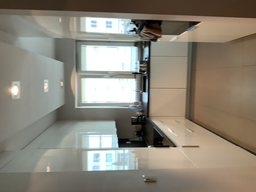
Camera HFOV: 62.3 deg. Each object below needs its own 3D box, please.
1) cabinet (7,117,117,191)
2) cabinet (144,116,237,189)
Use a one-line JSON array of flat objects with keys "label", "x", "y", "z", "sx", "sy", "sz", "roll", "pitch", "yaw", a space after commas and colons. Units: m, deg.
[{"label": "cabinet", "x": -0.820, "y": 0.760, "z": 3.480, "sx": 2.240, "sy": 1.200, "sz": 0.420, "roll": -134, "pitch": 46, "yaw": -83}, {"label": "cabinet", "x": 0.800, "y": 0.750, "z": 3.310, "sx": 1.640, "sy": 0.820, "sz": 0.560, "roll": -134, "pitch": 46, "yaw": -83}]
